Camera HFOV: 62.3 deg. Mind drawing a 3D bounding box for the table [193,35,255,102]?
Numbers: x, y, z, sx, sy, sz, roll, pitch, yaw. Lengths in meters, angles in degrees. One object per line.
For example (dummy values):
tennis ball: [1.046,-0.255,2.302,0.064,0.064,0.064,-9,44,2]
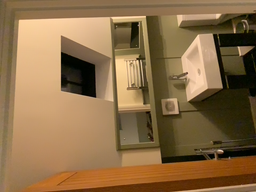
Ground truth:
table: [1.130,-0.260,2.130,0.460,0.730,0.520,111,155,-76]
